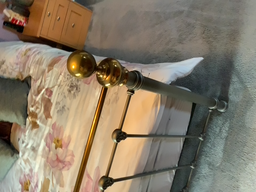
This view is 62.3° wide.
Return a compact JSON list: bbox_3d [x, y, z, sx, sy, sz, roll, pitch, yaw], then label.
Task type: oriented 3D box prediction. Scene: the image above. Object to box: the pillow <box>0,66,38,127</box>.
[{"bbox_3d":[-0.980,-0.010,1.720,0.350,0.260,0.420,16,93,41],"label":"pillow"}]
